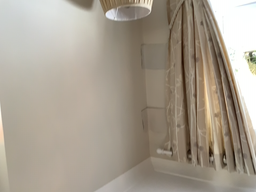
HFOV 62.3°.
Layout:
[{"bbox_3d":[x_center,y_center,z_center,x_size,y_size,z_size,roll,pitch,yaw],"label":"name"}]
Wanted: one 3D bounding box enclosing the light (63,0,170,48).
[{"bbox_3d":[-0.050,-0.990,1.430,0.380,1.200,0.720,0,-175,33],"label":"light"}]
